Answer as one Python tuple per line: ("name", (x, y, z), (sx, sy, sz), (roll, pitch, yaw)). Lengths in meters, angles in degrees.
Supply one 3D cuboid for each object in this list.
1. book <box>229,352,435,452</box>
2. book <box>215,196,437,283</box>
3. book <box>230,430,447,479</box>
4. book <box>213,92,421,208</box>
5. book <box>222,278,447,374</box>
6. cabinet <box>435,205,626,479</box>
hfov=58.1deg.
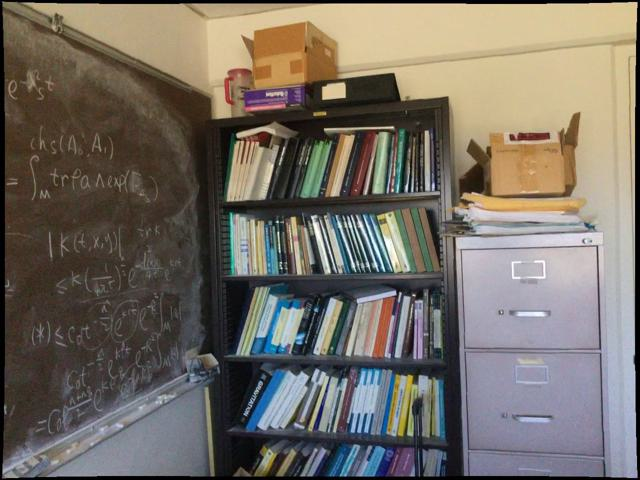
("book", (0.060, 0.652, 2.390), (0.808, 0.291, 0.290), (-1, 3, 13))
("book", (0.030, 0.000, 2.350), (0.868, 0.321, 0.230), (-1, 3, 13))
("book", (0.080, 0.952, 2.340), (0.848, 0.241, 0.220), (-1, 3, 13))
("book", (-0.010, -0.341, 2.300), (0.798, 0.401, 0.180), (-1, 3, 13))
("book", (0.070, 0.331, 2.340), (0.868, 0.321, 0.280), (-1, 3, 13))
("cabinet", (0.658, 0.692, 1.950), (0.479, 1.594, 0.780), (-1, 3, 13))
